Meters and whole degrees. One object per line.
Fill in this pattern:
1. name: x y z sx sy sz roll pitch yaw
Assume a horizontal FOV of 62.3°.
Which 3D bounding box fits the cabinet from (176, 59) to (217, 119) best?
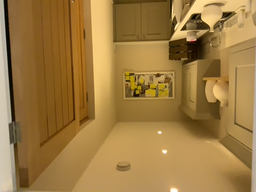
1. cabinet: 1.140 -0.150 3.740 0.410 0.880 1.290 0 -175 6
